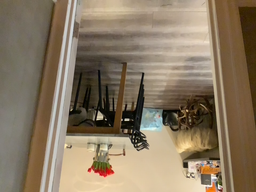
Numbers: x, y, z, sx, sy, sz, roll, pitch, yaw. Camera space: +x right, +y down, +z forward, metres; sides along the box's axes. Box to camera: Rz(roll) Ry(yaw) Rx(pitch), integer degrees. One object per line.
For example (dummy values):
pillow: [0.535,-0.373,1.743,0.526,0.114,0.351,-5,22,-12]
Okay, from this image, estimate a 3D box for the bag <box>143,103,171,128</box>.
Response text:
bag: [0.510,0.360,3.830,0.460,0.380,0.310,2,164,2]
